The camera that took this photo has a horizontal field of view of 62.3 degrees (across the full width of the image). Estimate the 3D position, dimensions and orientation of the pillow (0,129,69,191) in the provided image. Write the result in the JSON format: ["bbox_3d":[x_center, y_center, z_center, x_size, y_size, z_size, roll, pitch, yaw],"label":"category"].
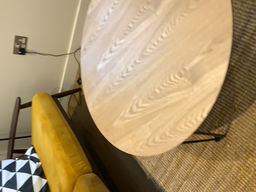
[{"bbox_3d":[-0.800,0.630,1.390,0.710,0.650,0.290,33,135,49],"label":"pillow"}]

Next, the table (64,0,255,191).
[{"bbox_3d":[0.120,-0.180,0.930,0.800,0.360,0.810,44,123,40],"label":"table"}]
